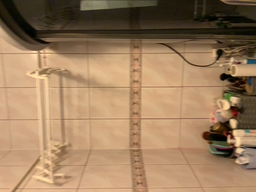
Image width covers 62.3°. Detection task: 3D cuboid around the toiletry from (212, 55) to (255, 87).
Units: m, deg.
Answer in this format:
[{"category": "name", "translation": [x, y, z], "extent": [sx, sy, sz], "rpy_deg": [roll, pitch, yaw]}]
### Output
[{"category": "toiletry", "translation": [0.610, -0.140, 1.140], "extent": [0.270, 0.200, 0.150], "rpy_deg": [-96, 6, -80]}]
